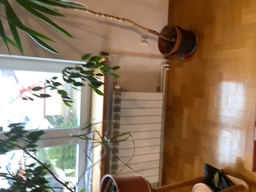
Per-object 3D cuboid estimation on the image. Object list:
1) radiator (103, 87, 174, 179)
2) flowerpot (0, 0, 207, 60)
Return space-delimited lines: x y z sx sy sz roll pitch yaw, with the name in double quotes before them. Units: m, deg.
"radiator" 0.120 0.340 2.190 0.160 0.730 0.850 8 97 60
"flowerpot" -0.180 -0.540 1.730 0.500 1.730 0.360 14 103 61
